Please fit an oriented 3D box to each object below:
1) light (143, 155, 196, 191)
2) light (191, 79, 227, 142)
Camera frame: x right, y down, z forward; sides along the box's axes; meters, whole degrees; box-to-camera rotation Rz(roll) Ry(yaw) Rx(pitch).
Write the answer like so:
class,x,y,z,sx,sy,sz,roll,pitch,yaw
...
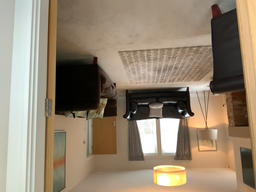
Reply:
class,x,y,z,sx,sy,sz,roll,pitch,yaw
light,0.770,1.640,3.960,0.750,0.660,0.770,-17,82,0
light,2.560,0.490,6.820,0.800,1.010,1.850,-3,82,12
